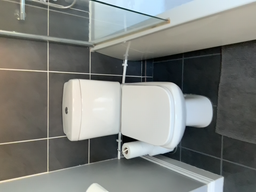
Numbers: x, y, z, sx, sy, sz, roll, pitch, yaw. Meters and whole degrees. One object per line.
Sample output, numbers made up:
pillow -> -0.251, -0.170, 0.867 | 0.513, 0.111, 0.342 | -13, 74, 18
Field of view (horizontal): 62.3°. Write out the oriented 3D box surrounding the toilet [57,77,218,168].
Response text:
toilet -> 0.040, 0.090, 1.430 | 0.710, 0.810, 0.390 | 6, 95, 54
